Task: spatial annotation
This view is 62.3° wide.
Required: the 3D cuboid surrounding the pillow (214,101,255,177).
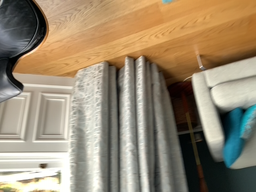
[{"bbox_3d":[0.790,0.330,1.590,0.150,0.400,0.400,-15,139,17],"label":"pillow"}]
